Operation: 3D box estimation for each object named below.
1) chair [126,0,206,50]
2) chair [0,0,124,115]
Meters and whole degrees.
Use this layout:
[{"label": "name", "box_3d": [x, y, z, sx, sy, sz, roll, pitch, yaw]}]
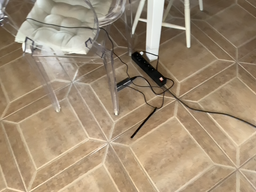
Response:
[{"label": "chair", "box_3d": [0.290, -0.790, 1.330, 0.480, 0.810, 0.460, 19, 64, 12]}, {"label": "chair", "box_3d": [-0.330, -0.330, 1.110, 0.460, 0.810, 0.480, 13, 63, 10]}]
